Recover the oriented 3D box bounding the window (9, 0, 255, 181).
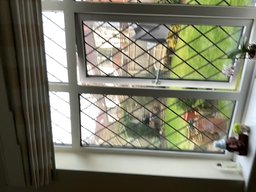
[{"bbox_3d":[0.170,-0.330,1.440,0.520,1.620,1.660,-84,-4,-74],"label":"window"}]
